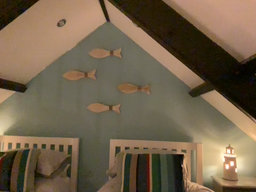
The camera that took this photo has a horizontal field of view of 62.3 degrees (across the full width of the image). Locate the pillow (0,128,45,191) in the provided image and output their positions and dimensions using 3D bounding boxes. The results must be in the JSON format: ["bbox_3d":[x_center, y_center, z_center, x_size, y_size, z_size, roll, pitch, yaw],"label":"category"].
[{"bbox_3d":[-1.080,0.590,1.780,0.590,0.390,0.190,-28,-8,0],"label":"pillow"}]
